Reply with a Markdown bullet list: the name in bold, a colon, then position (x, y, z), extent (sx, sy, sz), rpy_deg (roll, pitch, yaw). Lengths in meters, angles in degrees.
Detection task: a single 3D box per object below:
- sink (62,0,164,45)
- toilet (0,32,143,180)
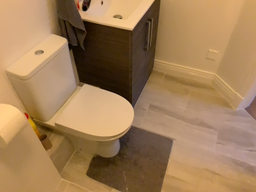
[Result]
- **sink**: position (-0.060, -0.650, 1.530), extent (0.470, 0.120, 0.700), rpy_deg (17, 49, 15)
- **toilet**: position (-0.270, 0.090, 1.350), extent (0.600, 0.770, 0.380), rpy_deg (17, 49, 15)
